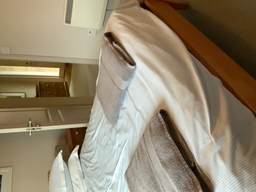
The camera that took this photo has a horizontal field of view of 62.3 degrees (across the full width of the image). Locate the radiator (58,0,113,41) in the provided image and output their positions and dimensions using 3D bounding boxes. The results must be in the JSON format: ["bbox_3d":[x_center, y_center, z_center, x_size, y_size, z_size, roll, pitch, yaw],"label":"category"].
[{"bbox_3d":[-0.430,-0.960,2.210,0.150,0.490,0.720,-115,35,-40],"label":"radiator"}]

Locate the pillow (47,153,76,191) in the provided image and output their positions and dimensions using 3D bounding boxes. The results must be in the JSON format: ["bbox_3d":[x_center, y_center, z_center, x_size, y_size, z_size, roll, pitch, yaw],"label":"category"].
[{"bbox_3d":[-0.680,0.940,2.140,0.550,0.210,0.420,-116,35,-42],"label":"pillow"}]
